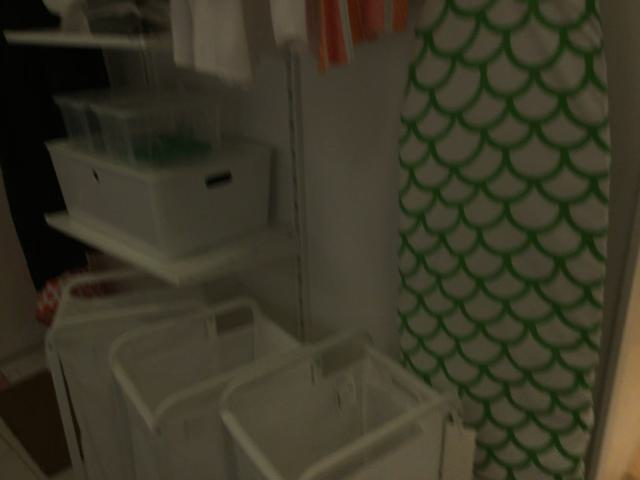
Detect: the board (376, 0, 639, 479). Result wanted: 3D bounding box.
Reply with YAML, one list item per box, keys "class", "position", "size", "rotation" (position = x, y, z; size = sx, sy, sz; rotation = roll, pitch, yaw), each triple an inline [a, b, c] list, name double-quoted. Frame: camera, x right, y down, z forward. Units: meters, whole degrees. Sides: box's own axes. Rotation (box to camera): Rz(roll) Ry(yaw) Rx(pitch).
- class: "board"
  position: [0.330, 0.130, 1.090]
  size: [0.440, 1.400, 0.140]
  rotation: [18, 30, 38]
